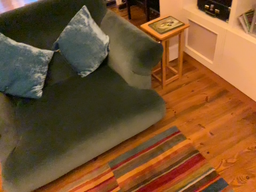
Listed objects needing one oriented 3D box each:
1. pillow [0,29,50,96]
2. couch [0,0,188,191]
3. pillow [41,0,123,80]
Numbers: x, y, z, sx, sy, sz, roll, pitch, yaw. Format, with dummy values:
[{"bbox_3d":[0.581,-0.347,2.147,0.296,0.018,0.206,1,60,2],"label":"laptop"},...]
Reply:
[{"bbox_3d":[-0.750,-0.200,1.430,0.150,0.410,0.390,2,90,30],"label":"pillow"},{"bbox_3d":[-0.480,-0.100,1.510,1.330,0.830,1.060,-26,46,-15],"label":"couch"},{"bbox_3d":[-0.330,-0.390,1.550,0.380,0.420,0.150,-45,43,14],"label":"pillow"}]
